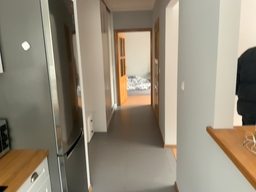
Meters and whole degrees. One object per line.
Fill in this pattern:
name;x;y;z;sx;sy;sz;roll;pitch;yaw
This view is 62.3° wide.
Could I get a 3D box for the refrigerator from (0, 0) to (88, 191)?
refrigerator;-0.850;0.190;1.900;0.720;2.030;0.640;-1;12;2
